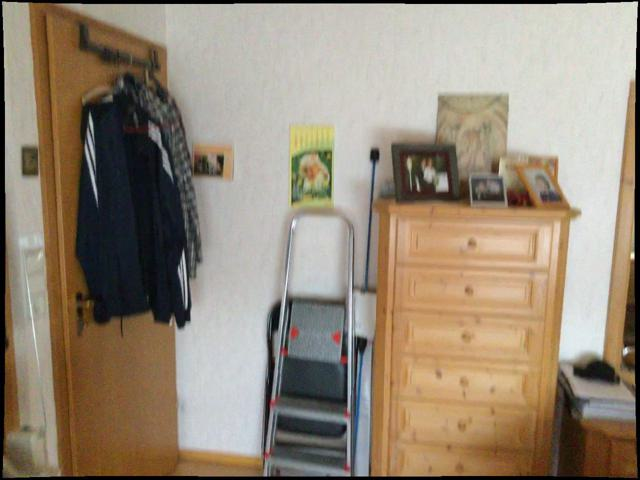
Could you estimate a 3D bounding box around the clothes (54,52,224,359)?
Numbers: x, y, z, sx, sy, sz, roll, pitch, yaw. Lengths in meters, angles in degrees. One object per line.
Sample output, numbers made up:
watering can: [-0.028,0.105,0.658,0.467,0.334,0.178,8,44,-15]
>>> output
clothes: [-0.669,-0.170,2.350,0.270,1.031,0.810,4,11,12]
